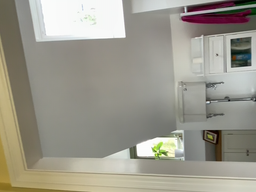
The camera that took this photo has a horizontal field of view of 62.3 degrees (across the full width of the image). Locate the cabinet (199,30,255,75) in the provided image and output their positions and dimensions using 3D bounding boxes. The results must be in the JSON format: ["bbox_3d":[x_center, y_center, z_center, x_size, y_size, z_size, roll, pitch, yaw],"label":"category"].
[{"bbox_3d":[1.370,-0.490,2.330,0.320,1.080,0.430,-48,-45,-72],"label":"cabinet"}]

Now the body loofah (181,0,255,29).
[{"bbox_3d":[1.160,-0.890,2.270,0.380,1.140,0.200,-48,-45,-72],"label":"body loofah"}]
